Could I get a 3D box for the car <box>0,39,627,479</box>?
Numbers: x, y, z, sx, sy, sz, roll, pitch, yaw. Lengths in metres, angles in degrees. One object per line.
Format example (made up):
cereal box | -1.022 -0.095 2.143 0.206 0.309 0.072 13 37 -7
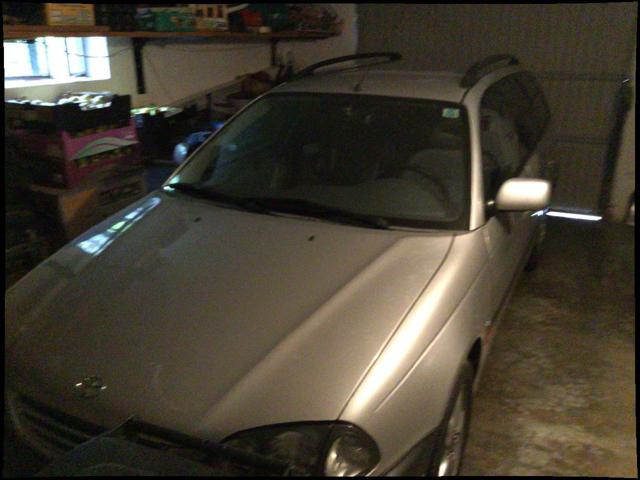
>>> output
car | 0.240 -0.140 2.980 1.979 1.631 3.679 12 23 27
